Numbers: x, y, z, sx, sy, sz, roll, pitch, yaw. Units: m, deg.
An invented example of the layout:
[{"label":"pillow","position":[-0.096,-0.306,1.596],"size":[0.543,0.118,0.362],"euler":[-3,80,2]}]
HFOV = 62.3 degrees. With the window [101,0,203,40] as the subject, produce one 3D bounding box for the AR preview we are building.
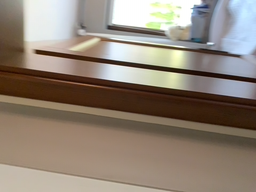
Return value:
[{"label":"window","position":[0.460,-1.950,3.460],"size":[0.270,1.590,1.810],"euler":[-75,-7,-75]}]
